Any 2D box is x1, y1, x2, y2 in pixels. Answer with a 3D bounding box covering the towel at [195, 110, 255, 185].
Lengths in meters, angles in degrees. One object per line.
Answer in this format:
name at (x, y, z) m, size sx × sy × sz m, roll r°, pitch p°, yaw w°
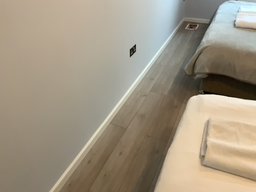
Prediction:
towel at (0.540, 0.240, 1.040) m, size 0.390 × 0.050 × 0.380 m, roll 9°, pitch 38°, yaw 13°
